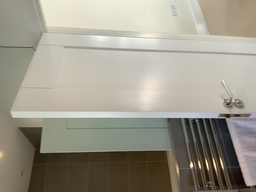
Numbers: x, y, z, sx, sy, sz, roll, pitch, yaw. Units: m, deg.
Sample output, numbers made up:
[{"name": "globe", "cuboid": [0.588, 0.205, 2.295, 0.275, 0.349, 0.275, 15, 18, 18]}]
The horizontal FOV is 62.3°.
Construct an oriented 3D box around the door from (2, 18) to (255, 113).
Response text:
[{"name": "door", "cuboid": [0.440, -0.230, 1.340, 0.880, 2.020, 0.030, -97, 11, -47]}]
